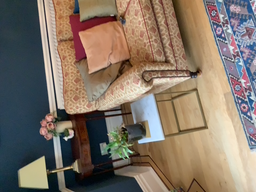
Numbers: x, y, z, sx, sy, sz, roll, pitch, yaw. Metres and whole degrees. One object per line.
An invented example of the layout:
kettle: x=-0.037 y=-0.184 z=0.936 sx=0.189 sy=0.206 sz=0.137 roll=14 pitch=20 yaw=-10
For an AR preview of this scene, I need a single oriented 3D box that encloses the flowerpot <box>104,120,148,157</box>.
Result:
flowerpot: x=-0.020 y=0.330 z=1.640 sx=0.200 sy=0.230 sz=0.220 roll=-31 pitch=66 yaw=55
